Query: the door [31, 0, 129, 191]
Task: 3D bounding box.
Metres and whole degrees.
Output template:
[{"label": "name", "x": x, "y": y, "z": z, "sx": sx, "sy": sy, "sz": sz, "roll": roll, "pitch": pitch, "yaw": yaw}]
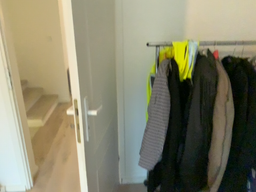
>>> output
[{"label": "door", "x": -0.160, "y": 0.090, "z": 1.360, "sx": 0.150, "sy": 2.040, "sz": 0.960, "roll": 4, "pitch": 20, "yaw": 11}]
